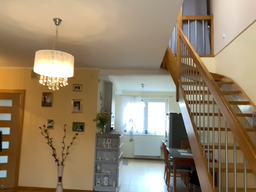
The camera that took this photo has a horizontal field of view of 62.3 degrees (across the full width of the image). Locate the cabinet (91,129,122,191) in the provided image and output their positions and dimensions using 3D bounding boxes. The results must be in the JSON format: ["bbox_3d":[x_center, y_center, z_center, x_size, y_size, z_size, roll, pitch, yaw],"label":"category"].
[{"bbox_3d":[-0.450,1.390,4.790,0.510,1.190,0.850,1,-6,4],"label":"cabinet"}]
